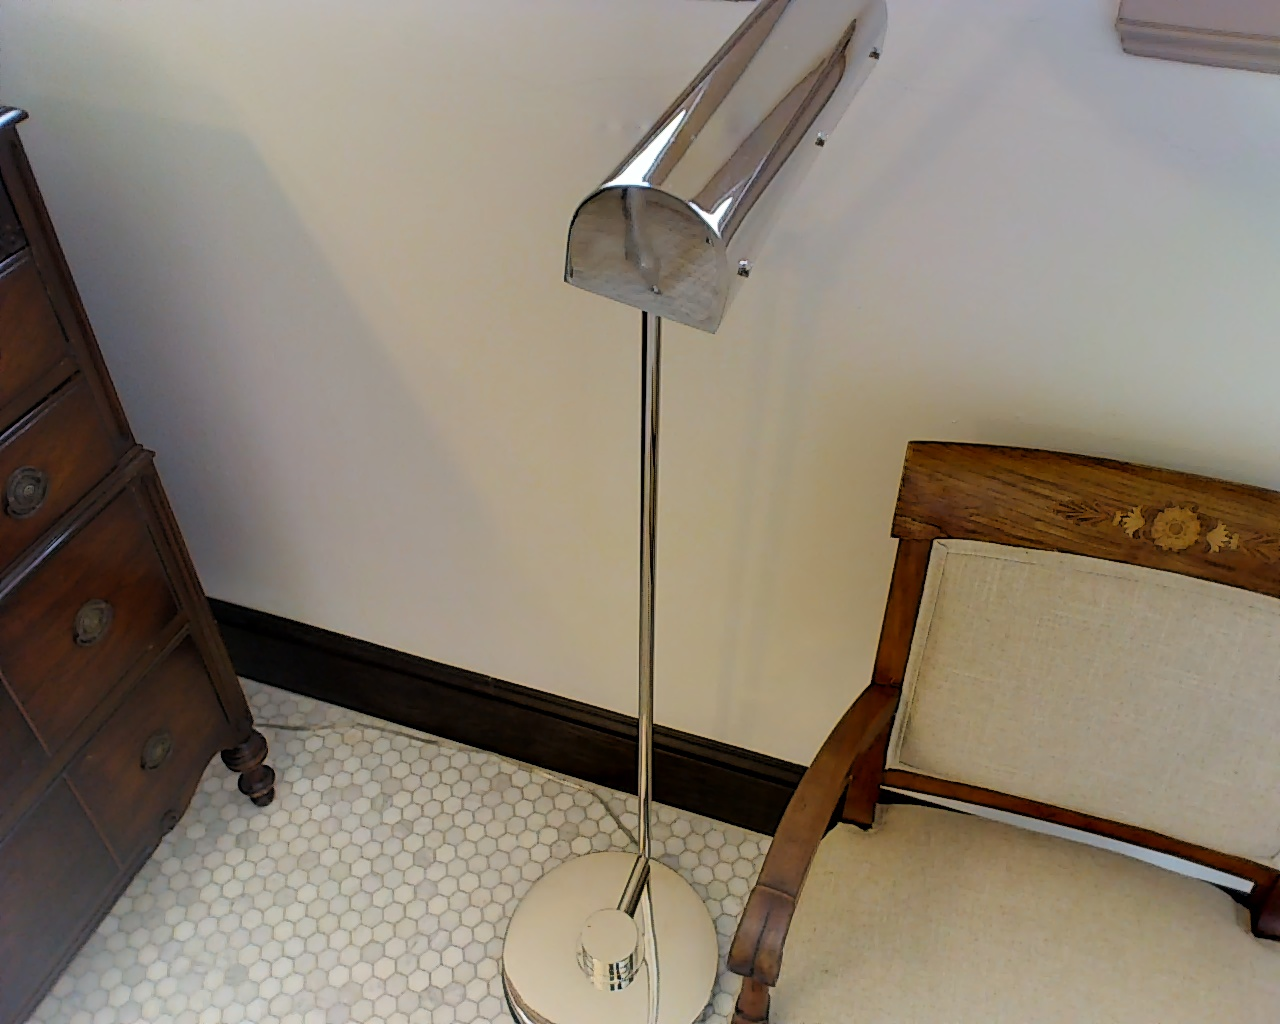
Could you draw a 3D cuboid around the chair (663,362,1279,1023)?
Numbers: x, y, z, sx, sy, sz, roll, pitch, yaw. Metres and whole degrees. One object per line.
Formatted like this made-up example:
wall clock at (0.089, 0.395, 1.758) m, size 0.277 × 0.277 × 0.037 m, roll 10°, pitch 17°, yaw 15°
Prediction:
chair at (0.410, 0.460, 1.100) m, size 0.610 × 0.890 × 0.680 m, roll 14°, pitch 45°, yaw 13°
